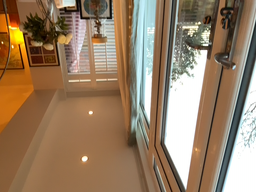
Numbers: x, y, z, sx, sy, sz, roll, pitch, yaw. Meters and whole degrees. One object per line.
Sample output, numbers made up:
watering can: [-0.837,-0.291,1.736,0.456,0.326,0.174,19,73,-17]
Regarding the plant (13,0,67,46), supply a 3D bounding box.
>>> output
plant: [-0.870,-0.820,2.120,0.410,0.600,0.170,-2,-155,-3]
